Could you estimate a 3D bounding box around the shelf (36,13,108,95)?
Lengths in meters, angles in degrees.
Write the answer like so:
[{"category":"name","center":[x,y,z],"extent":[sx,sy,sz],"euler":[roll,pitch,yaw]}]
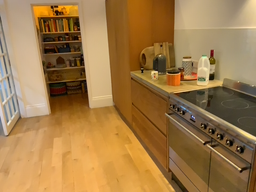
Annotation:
[{"category":"shelf","center":[-1.280,-1.000,5.120],"extent":[1.410,1.790,0.350],"euler":[-7,19,-12]}]
